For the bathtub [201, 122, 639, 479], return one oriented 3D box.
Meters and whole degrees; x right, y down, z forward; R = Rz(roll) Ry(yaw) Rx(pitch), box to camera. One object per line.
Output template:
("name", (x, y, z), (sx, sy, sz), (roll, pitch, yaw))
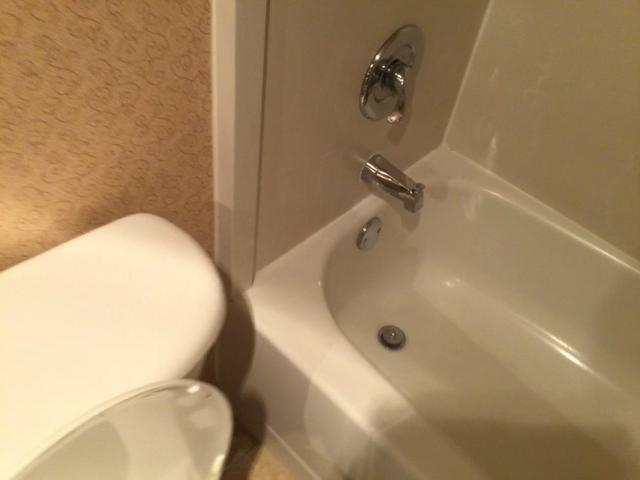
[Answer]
("bathtub", (0.540, 0.440, 1.070), (1.410, 0.430, 0.730), (37, 55, 23))
